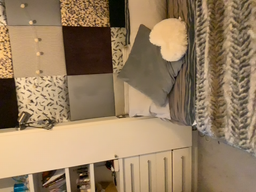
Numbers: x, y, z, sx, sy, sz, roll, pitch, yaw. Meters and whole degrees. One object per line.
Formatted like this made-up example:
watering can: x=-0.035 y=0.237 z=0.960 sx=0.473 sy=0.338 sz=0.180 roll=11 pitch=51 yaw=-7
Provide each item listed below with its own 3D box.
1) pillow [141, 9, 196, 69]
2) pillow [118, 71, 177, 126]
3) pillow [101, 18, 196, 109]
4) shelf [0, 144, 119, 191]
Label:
pillow: x=0.350 y=-0.480 z=1.770 sx=0.170 sy=0.310 sz=0.400 roll=-33 pitch=14 yaw=48
pillow: x=0.190 y=0.020 z=2.140 sx=0.240 sy=0.420 sz=0.430 roll=-159 pitch=86 yaw=-73
pillow: x=0.190 y=-0.290 z=1.940 sx=0.620 sy=0.560 sz=0.280 roll=-26 pitch=12 yaw=18
shelf: x=-0.850 y=1.040 z=2.370 sx=0.400 sy=1.440 sz=0.690 roll=-153 pitch=60 yaw=-71
